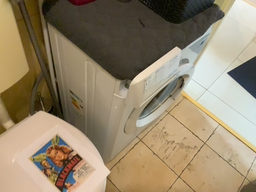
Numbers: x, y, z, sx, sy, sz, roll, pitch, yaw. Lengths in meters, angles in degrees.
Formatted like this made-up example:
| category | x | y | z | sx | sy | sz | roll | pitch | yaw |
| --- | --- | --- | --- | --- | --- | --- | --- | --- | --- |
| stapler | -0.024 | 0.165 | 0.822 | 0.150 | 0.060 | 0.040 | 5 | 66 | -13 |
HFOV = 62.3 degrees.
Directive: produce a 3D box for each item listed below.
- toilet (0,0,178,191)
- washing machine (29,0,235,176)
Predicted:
| category | x | y | z | sx | sy | sz | roll | pitch | yaw |
| --- | --- | --- | --- | --- | --- | --- | --- | --- | --- |
| toilet | -0.340 | 0.170 | 0.780 | 0.620 | 0.970 | 0.380 | 41 | 57 | 17 |
| washing machine | -0.020 | -0.100 | 1.130 | 0.530 | 0.830 | 0.600 | 41 | 57 | 17 |
